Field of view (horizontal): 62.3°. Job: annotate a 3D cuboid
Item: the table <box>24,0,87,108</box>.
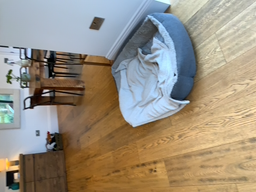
[{"bbox_3d":[-1.540,-1.410,4.180,1.020,0.800,3.090,-38,58,54],"label":"table"}]
